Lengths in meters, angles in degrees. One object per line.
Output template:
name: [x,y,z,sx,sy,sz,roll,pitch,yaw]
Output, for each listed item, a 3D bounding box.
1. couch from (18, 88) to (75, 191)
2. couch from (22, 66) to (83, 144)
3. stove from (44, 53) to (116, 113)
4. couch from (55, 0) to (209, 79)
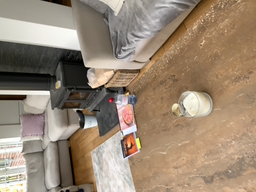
couch: [-1.780,1.520,4.520,1.200,0.790,3.160,-39,58,50]
couch: [-1.500,0.190,4.070,0.860,0.830,1.190,-40,57,49]
stove: [-0.670,-0.140,2.850,0.650,0.710,0.510,-40,57,49]
couch: [-0.040,-1.070,1.900,1.380,0.780,1.220,-49,51,45]
